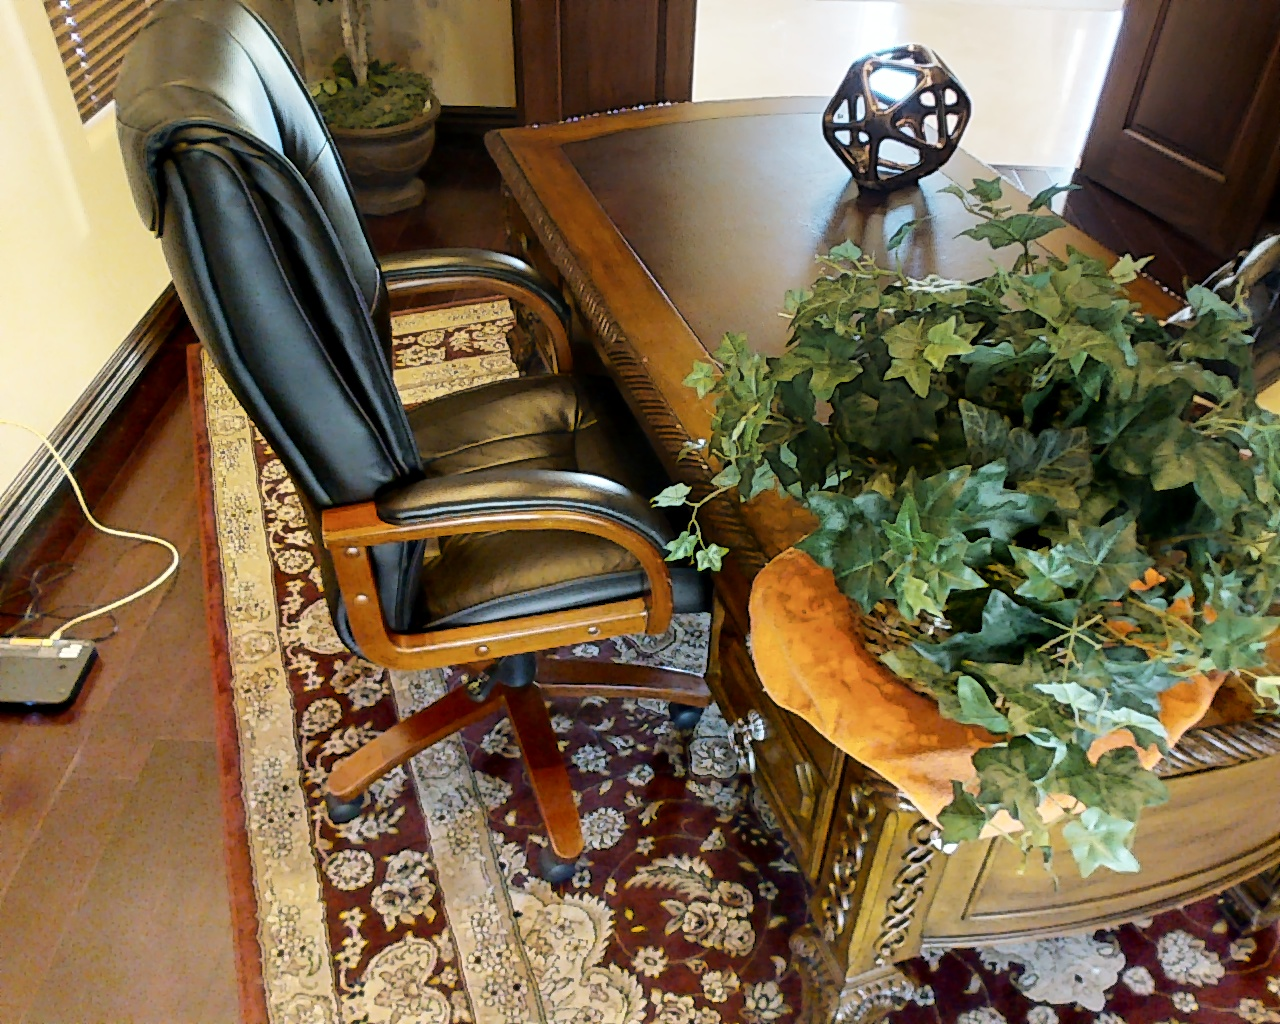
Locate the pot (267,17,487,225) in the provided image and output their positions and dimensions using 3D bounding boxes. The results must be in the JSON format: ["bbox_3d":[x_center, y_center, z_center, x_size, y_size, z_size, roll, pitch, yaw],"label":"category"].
[{"bbox_3d":[-0.860,-1.309,3.550,0.490,0.440,0.490,-26,48,-30],"label":"pot"}]

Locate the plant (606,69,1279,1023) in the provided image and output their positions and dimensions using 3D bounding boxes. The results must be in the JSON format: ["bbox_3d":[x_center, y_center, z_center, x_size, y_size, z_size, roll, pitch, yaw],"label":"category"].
[{"bbox_3d":[0.370,-0.010,0.970,0.620,0.510,0.670,-11,42,-16],"label":"plant"}]

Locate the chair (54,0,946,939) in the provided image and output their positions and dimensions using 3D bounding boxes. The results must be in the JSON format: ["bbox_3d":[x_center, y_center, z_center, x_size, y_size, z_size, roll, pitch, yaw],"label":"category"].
[{"bbox_3d":[-0.210,-0.110,1.590,0.780,1.180,0.770,-8,41,-13],"label":"chair"}]
